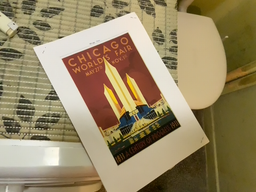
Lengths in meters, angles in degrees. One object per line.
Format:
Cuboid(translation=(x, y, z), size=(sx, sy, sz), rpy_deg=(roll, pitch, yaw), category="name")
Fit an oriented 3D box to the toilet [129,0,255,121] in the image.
Cuboid(translation=(0.330, -0.240, 0.940), size=(0.380, 0.940, 0.580), rpy_deg=(6, 76, -15), category="toilet")
